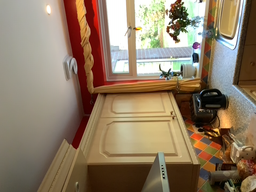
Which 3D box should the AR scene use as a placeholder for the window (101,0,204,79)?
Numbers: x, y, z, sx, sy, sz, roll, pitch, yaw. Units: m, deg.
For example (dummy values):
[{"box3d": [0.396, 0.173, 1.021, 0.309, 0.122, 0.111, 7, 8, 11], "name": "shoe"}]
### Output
[{"box3d": [0.240, -1.340, 2.140, 0.030, 1.100, 2.450, -87, -5, -65], "name": "window"}]
